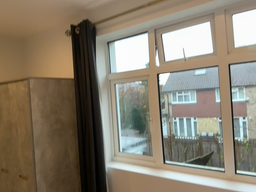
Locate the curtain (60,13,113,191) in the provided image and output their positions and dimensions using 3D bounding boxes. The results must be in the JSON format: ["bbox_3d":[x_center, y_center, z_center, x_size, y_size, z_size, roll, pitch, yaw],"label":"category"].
[{"bbox_3d":[-0.400,0.230,2.070,0.370,1.930,0.190,-4,0,37],"label":"curtain"}]
